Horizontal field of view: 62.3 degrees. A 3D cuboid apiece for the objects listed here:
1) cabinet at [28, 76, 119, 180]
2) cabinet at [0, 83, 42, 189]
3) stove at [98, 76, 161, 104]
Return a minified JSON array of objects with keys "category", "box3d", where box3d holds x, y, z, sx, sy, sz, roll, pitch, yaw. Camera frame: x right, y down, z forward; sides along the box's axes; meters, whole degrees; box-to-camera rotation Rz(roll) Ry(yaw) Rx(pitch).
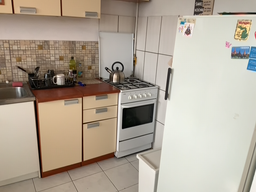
[{"category":"cabinet","box3d":[-0.600,0.280,2.340,0.790,0.860,0.570,-7,20,-30]},{"category":"cabinet","box3d":[-1.290,0.370,1.970,0.790,0.830,0.520,-7,20,-30]},{"category":"stove","box3d":[0.000,-0.100,2.570,0.530,0.140,0.600,-7,20,-30]}]
